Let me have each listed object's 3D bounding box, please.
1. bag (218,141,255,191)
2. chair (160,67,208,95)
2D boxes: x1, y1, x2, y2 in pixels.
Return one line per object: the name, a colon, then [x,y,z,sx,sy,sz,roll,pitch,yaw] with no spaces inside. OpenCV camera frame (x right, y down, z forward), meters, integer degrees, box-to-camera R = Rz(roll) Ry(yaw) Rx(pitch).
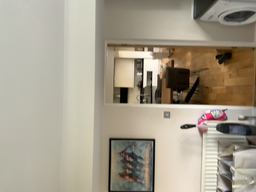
bag: [1.410,0.950,2.510,0.360,0.520,0.740,-177,89,-88]
chair: [1.230,-0.360,4.800,0.620,0.850,0.520,-96,8,-78]
